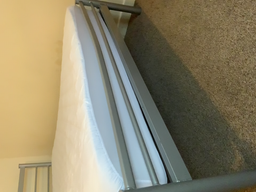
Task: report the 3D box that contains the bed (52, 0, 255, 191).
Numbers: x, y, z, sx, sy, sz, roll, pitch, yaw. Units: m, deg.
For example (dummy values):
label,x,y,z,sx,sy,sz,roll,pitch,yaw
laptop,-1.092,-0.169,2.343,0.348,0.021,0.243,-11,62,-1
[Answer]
label,x,y,z,sx,sy,sz,roll,pitch,yaw
bed,-0.270,0.540,1.670,1.470,0.520,2.070,-111,31,-44
